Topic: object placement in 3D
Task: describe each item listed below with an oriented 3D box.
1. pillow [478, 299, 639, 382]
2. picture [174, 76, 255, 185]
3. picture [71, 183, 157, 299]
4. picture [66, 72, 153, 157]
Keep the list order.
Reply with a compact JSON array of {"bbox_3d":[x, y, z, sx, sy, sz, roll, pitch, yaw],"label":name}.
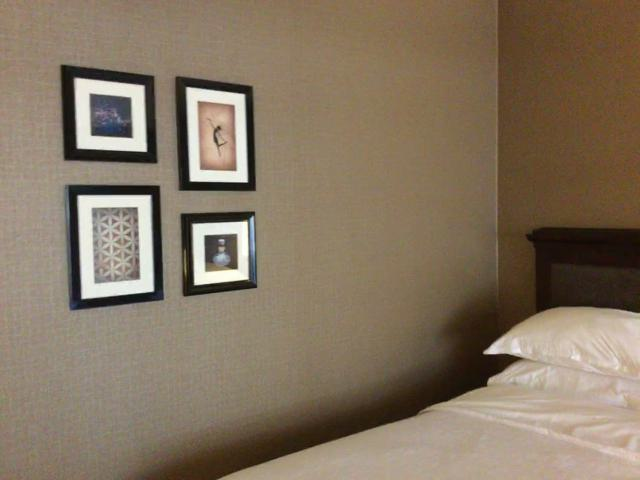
[{"bbox_3d":[1.110,0.380,2.320,0.470,0.220,0.800,4,-2,-33],"label":"pillow"},{"bbox_3d":[-0.390,-0.400,2.160,0.290,0.380,0.040,-2,1,-33],"label":"picture"},{"bbox_3d":[-0.700,0.000,1.980,0.270,0.380,0.020,-2,1,-33],"label":"picture"},{"bbox_3d":[-0.710,-0.420,1.960,0.270,0.260,0.030,-2,1,-33],"label":"picture"}]
